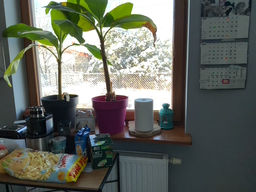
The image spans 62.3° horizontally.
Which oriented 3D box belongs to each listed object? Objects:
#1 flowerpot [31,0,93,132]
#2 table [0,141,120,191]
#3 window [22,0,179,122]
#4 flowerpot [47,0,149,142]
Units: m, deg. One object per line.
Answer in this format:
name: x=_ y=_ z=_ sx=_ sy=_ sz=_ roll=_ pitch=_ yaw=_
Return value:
flowerpot: x=-0.530 y=-0.240 z=1.780 sx=0.360 sy=1.020 sz=0.240 roll=2 pitch=11 yaw=13
table: x=-0.580 y=0.790 z=1.530 sx=0.970 sy=0.740 sz=0.460 roll=1 pitch=11 yaw=12
window: x=-0.260 y=-0.610 z=1.860 sx=1.360 sy=1.610 sz=0.180 roll=2 pitch=11 yaw=14
flowerpot: x=-0.200 y=-0.240 z=1.670 sx=0.690 sy=1.080 sz=0.320 roll=2 pitch=11 yaw=14
